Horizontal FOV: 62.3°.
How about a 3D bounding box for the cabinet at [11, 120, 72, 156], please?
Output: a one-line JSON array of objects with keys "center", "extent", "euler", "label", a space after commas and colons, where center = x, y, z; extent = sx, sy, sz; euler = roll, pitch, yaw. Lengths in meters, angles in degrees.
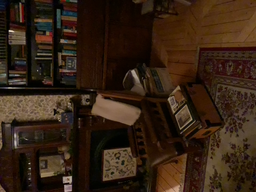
[{"center": [-1.210, 0.580, 3.020], "extent": [0.150, 0.780, 0.400], "euler": [-153, 64, -65], "label": "cabinet"}]
